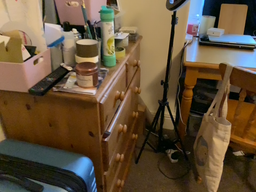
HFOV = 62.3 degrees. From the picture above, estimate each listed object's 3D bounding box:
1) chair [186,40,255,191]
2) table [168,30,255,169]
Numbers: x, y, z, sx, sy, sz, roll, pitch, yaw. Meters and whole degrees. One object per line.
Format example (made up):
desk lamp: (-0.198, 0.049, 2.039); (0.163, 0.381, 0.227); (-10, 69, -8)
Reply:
chair: (0.740, 0.160, 1.300); (0.500, 0.810, 0.550); (16, 33, 22)
table: (0.970, 0.000, 1.660); (1.170, 0.750, 0.780); (8, 31, 9)
